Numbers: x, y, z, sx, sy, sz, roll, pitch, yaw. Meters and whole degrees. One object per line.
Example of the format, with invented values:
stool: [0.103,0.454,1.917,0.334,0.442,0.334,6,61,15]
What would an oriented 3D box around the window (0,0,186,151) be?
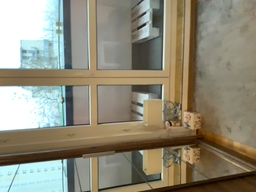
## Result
window: [-0.510,-0.520,2.170,0.220,2.420,1.960,-173,81,-71]
